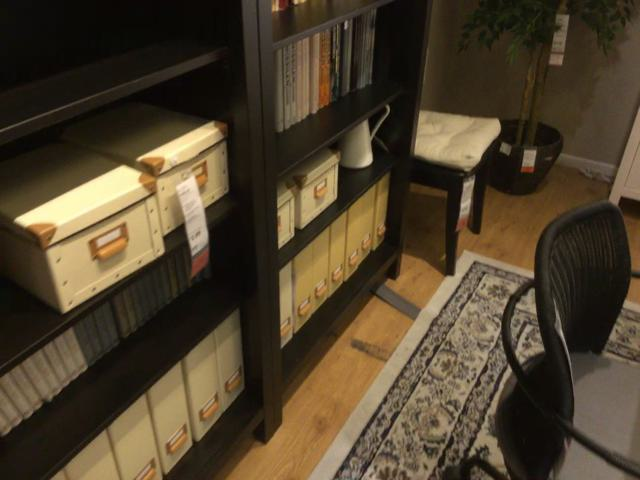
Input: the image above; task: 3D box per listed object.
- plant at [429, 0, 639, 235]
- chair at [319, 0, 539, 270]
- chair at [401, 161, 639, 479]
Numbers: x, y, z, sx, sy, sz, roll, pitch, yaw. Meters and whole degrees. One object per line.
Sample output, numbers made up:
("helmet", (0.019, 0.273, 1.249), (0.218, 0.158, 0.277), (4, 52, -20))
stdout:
("plant", (0.970, -0.970, 2.290), (0.740, 1.620, 0.730), (18, 40, 30))
("chair", (0.390, -0.420, 2.130), (0.550, 0.790, 0.510), (18, 40, 30))
("chair", (0.490, 0.400, 0.990), (0.460, 0.800, 0.640), (18, 40, 30))
